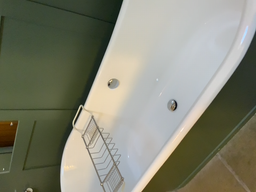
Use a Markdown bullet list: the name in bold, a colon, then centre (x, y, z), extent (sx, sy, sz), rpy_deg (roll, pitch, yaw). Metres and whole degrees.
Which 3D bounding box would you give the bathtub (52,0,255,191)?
- **bathtub**: centre (0.170, 0.070, 1.230), extent (0.730, 0.660, 1.760), rpy_deg (55, 130, 39)
